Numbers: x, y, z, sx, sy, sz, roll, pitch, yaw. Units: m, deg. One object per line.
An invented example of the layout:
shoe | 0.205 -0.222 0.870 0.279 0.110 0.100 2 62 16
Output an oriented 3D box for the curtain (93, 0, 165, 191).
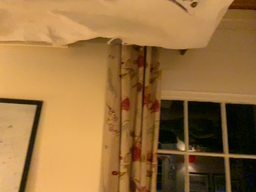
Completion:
curtain | 0.010 0.440 1.290 0.400 2.530 0.150 3 164 1
